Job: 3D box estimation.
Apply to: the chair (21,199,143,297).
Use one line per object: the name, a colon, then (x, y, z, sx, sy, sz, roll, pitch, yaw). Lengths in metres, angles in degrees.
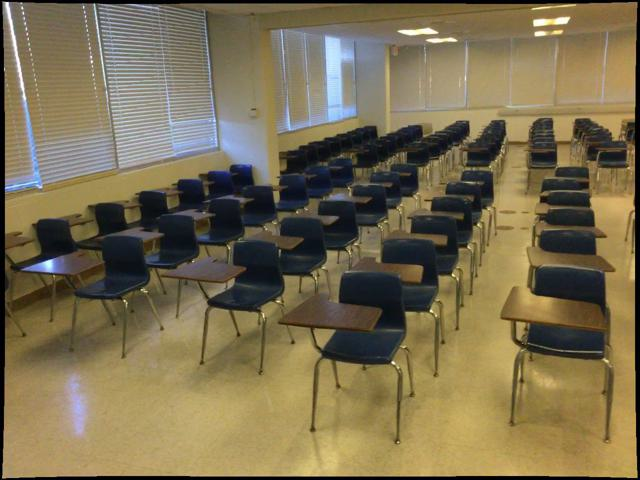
chair: (-2.184, 0.040, 5.390, 0.519, 0.672, 0.910, 3, 16, 17)

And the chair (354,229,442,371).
chair: (0.539, 0.361, 3.820, 0.449, 0.682, 0.740, 3, 16, 17)

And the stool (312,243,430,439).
stool: (0.339, 0.521, 3.370, 0.489, 0.762, 0.940, 3, 16, 16)

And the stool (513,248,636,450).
stool: (1.396, 0.561, 3.270, 0.509, 0.812, 0.790, 4, 16, 19)

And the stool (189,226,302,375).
stool: (-0.479, 0.381, 3.950, 0.479, 0.802, 0.630, 4, 17, 21)

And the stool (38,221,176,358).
stool: (-1.556, 0.331, 4.330, 0.529, 0.772, 0.770, 3, 16, 18)

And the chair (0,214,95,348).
chair: (-2.444, 0.291, 4.760, 0.509, 0.802, 0.960, 3, 16, 17)
